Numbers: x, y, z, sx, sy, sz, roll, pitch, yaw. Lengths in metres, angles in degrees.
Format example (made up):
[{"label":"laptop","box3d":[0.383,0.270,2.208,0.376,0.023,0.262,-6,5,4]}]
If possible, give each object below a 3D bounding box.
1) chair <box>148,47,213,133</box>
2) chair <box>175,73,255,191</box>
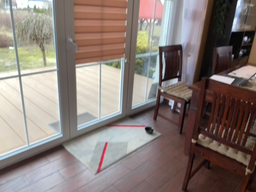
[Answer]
[{"label":"chair","box3d":[0.670,-0.110,2.820,0.460,0.960,0.520,-16,30,-42]},{"label":"chair","box3d":[0.810,0.380,1.660,0.550,0.950,0.510,-17,30,-42]}]
